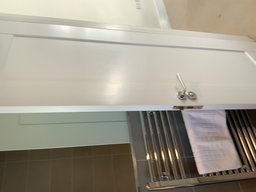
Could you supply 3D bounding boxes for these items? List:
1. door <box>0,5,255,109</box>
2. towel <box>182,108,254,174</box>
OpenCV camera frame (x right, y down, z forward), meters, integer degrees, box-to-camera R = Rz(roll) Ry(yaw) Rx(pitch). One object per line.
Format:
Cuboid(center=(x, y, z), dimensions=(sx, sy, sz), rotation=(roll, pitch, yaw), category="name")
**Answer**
Cuboid(center=(0.180, -0.270, 1.350), dimensions=(0.880, 2.020, 0.030), rotation=(-106, 22, -43), category="door")
Cuboid(center=(0.510, 0.250, 1.230), dimensions=(0.080, 0.300, 0.350), rotation=(116, 150, -57), category="towel")
